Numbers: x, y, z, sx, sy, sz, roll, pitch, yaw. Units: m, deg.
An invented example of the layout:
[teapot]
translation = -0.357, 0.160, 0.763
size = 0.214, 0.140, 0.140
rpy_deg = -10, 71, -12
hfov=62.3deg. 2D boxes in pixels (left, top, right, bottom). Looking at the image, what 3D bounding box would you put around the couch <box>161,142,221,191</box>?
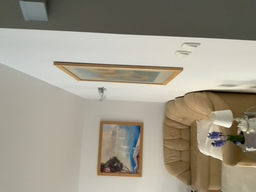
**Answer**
[couch]
translation = 1.160, 1.340, 4.080
size = 0.860, 0.870, 0.760
rpy_deg = 99, 174, -85
